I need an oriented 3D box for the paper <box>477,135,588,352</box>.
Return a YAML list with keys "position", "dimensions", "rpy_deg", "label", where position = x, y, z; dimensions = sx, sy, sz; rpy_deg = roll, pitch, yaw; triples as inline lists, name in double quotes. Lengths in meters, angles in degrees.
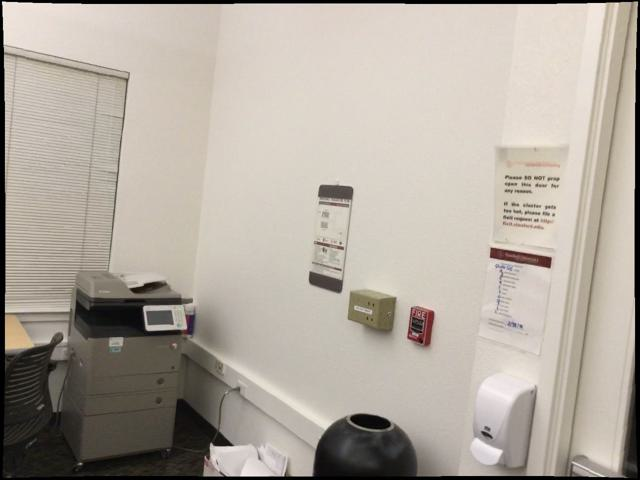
- position: [0.589, 0.000, 1.630]
  dimensions: [0.060, 0.581, 0.220]
  rpy_deg: [3, 6, -35]
  label: "paper"
